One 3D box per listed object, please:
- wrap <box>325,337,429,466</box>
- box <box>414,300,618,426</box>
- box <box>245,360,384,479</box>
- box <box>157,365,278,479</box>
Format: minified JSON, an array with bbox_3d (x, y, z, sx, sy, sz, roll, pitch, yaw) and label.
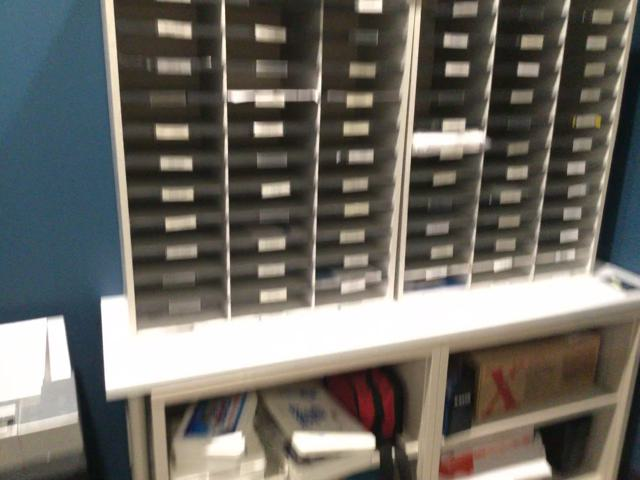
[{"bbox_3d":[0.150,0.450,1.670,0.150,0.180,0.350,-6,18,-21],"label":"wrap"},{"bbox_3d":[0.630,0.380,1.890,0.560,0.200,0.290,-6,18,-21],"label":"box"},{"bbox_3d":[-0.030,0.480,1.600,0.270,0.090,0.360,-6,18,-21],"label":"box"},{"bbox_3d":[-0.280,0.510,1.530,0.240,0.170,0.350,-6,18,-21],"label":"box"}]
